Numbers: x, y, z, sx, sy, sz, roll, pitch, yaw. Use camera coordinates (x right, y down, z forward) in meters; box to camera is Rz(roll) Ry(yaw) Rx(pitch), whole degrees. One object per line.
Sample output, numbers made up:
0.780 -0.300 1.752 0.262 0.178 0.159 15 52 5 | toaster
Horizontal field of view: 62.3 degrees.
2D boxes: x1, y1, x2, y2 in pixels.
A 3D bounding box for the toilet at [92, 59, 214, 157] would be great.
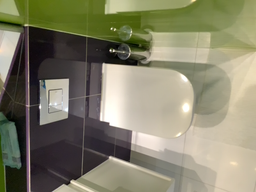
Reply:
0.160 0.010 1.270 0.540 0.480 0.400 11 102 29 | toilet
